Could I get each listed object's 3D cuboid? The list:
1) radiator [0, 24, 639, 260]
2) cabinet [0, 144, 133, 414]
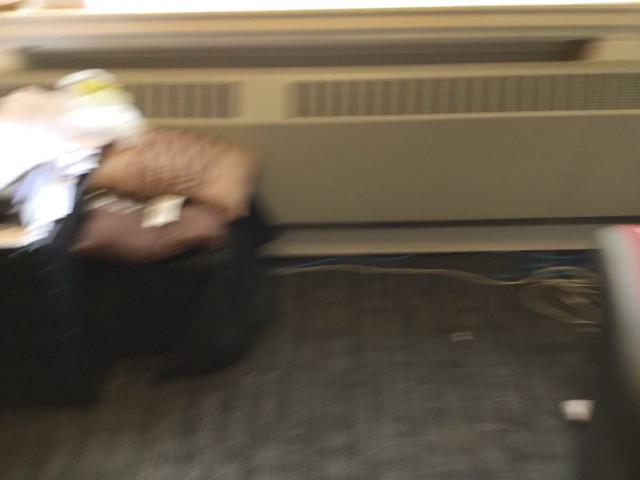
[{"bbox_3d":[-0.150,-0.310,1.880,3.080,0.660,0.350,0,35,-2],"label":"radiator"},{"bbox_3d":[-0.810,0.120,1.600,0.380,0.680,0.340,0,35,-2],"label":"cabinet"}]
